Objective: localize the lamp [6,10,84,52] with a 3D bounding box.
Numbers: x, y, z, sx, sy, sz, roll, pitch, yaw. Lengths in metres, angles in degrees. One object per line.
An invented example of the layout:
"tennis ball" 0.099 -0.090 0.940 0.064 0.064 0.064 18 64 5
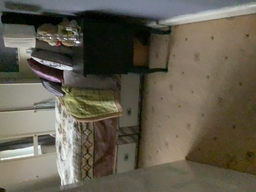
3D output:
"lamp" -0.590 -0.440 1.520 0.290 0.470 0.220 22 112 61
